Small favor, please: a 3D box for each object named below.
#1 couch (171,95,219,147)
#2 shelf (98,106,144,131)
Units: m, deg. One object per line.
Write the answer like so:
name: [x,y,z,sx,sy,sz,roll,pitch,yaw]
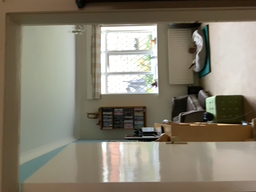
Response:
couch: [1.210,0.460,4.000,0.690,0.630,0.700,-90,-1,-57]
shelf: [-0.150,0.480,4.560,0.150,0.950,0.510,74,-166,-88]
